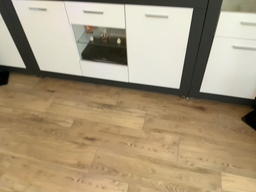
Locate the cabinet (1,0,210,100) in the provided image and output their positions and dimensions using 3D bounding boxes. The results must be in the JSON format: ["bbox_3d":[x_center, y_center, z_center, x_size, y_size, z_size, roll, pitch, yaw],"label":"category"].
[{"bbox_3d":[-0.180,-0.540,1.900,1.540,0.910,0.430,8,46,11],"label":"cabinet"}]
